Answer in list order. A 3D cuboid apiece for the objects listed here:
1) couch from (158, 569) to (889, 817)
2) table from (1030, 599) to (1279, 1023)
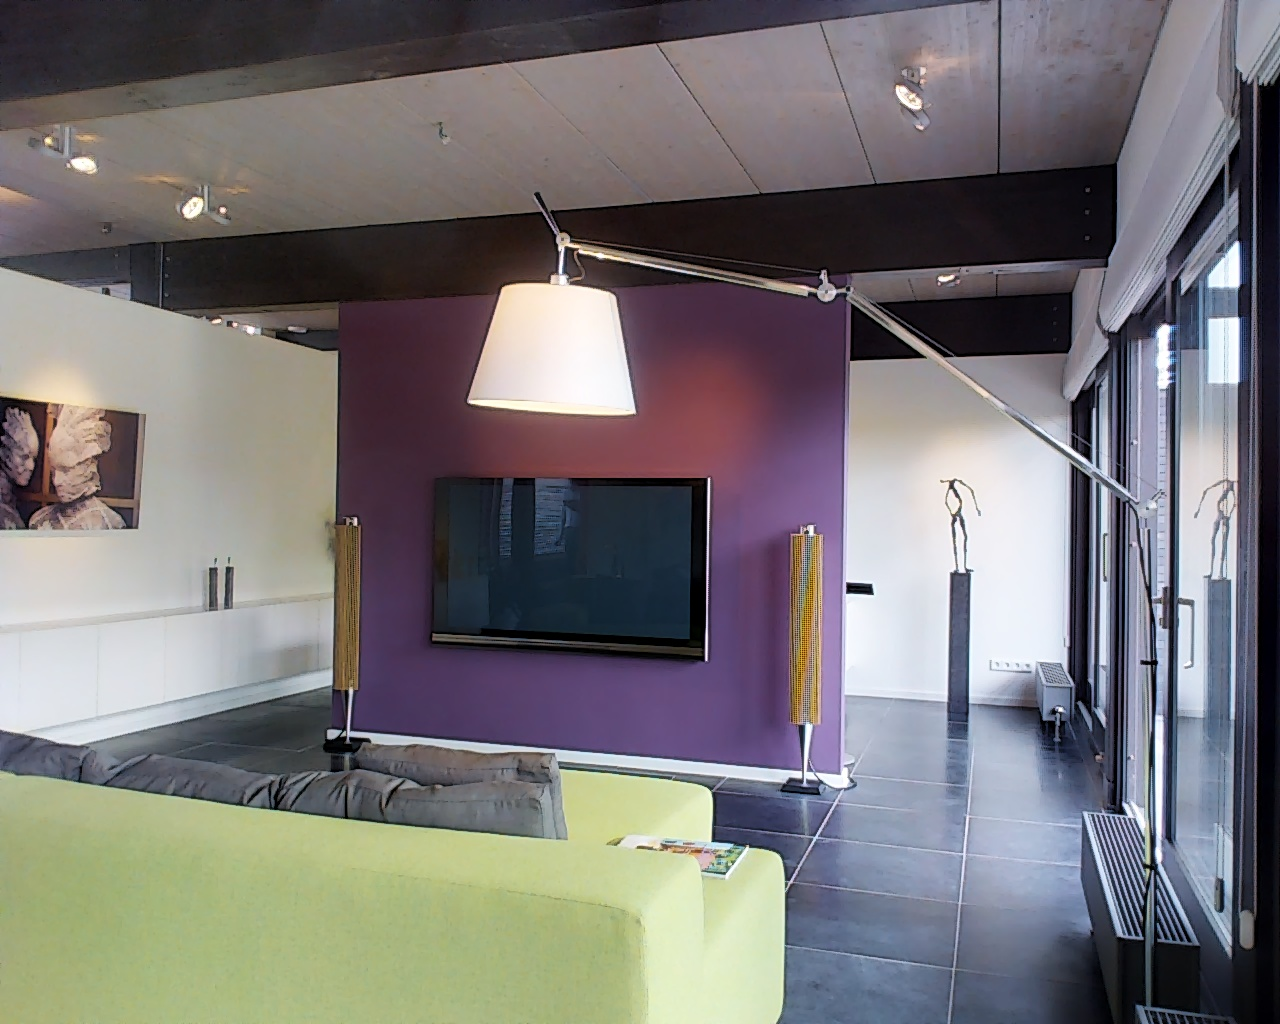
[{"bbox_3d":[-0.450,0.820,6.010,3.369,0.800,2.350,1,0,18],"label":"couch"},{"bbox_3d":[1.790,0.840,4.200,0.410,0.720,4.100,1,0,19],"label":"table"}]
